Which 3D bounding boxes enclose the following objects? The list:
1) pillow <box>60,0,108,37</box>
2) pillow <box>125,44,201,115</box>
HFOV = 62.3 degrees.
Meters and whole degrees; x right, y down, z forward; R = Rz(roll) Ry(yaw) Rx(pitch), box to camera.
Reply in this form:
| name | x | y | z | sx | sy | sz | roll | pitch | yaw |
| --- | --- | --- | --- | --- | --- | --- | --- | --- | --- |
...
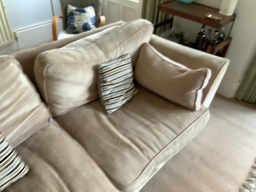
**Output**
| name | x | y | z | sx | sy | sz | roll | pitch | yaw |
| --- | --- | --- | --- | --- | --- | --- | --- | --- | --- |
| pillow | -0.560 | -1.000 | 2.730 | 0.450 | 0.400 | 0.130 | -28 | 71 | 23 |
| pillow | 0.250 | -0.130 | 1.610 | 0.560 | 0.310 | 0.140 | 35 | 70 | 30 |
